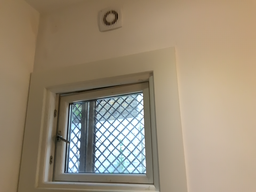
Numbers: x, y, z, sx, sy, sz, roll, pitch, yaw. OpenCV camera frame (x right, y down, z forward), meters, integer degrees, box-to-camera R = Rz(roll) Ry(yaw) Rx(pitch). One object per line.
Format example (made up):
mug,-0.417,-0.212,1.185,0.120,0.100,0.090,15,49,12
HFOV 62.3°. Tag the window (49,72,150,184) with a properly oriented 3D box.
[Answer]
window,-0.180,0.190,1.280,0.610,0.610,0.050,-6,-17,19
